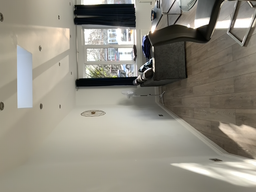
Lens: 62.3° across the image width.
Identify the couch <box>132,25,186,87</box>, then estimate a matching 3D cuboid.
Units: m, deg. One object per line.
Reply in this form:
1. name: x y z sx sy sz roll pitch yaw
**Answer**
1. couch: 0.630 -0.840 5.320 2.350 0.820 1.060 165 104 -85
